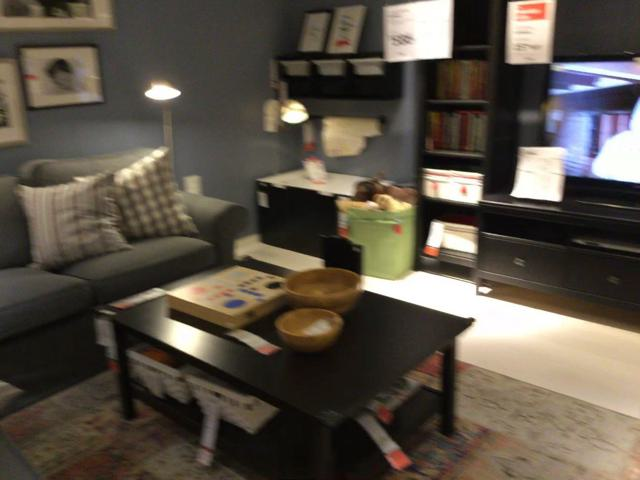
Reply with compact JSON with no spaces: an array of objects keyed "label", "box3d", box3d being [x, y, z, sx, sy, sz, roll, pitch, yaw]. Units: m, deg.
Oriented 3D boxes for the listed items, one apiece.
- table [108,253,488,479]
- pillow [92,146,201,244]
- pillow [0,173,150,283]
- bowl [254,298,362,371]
[{"label":"table","box3d":[-0.110,0.480,2.110,0.800,0.510,1.140,-17,20,-40]},{"label":"pillow","box3d":[-0.900,-0.250,3.010,0.370,0.420,0.360,-17,20,-40]},{"label":"pillow","box3d":[-1.160,-0.080,2.760,0.520,0.380,0.350,-17,20,-40]},{"label":"bowl","box3d":[-0.040,0.290,1.840,0.220,0.100,0.260,-17,20,-40]}]
